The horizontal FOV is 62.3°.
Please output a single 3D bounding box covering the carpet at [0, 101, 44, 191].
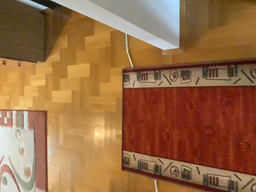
[{"bbox_3d":[-1.800,0.900,2.850,2.150,0.040,1.660,0,89,34],"label":"carpet"}]
